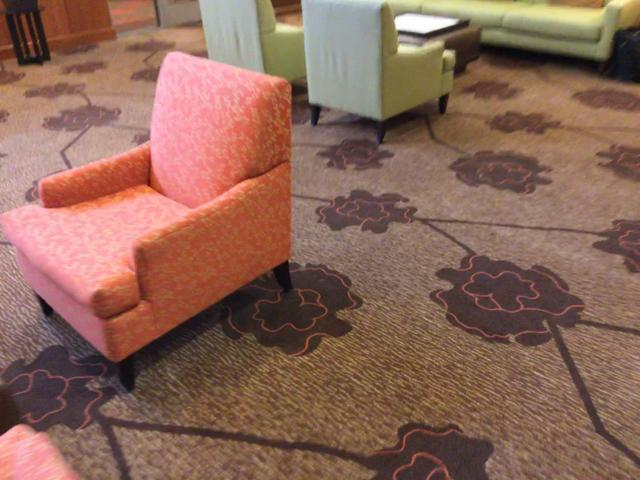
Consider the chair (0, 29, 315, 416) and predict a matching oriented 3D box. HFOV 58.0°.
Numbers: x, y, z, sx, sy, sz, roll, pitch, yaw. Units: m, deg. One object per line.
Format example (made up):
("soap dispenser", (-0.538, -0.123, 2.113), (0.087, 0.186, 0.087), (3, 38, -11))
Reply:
("chair", (-0.620, -0.130, 2.150), (0.770, 0.910, 0.920), (31, 46, 32))
